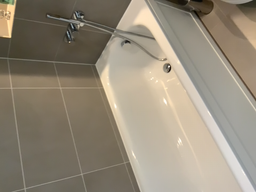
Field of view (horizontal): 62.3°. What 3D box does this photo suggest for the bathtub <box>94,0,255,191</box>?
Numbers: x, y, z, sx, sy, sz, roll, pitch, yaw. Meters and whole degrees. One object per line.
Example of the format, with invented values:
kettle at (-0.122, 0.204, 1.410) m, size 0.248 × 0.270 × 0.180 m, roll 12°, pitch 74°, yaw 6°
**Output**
bathtub at (0.390, 0.220, 1.330) m, size 0.680 × 0.540 × 1.640 m, roll -50°, pitch 54°, yaw 42°
